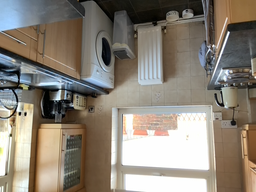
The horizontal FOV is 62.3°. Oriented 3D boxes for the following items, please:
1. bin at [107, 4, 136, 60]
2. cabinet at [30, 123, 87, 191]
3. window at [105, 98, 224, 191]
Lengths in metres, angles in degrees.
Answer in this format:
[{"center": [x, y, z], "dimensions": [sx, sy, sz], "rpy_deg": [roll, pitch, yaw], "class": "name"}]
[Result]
[{"center": [-0.070, -0.760, 2.590], "dimensions": [0.240, 0.530, 0.370], "rpy_deg": [-2, 172, 17], "class": "bin"}, {"center": [-0.780, 0.760, 2.470], "dimensions": [0.320, 0.880, 0.590], "rpy_deg": [-2, 172, 17], "class": "cabinet"}, {"center": [0.410, 0.680, 2.610], "dimensions": [1.340, 1.240, 0.300], "rpy_deg": [-2, 172, 15], "class": "window"}]
